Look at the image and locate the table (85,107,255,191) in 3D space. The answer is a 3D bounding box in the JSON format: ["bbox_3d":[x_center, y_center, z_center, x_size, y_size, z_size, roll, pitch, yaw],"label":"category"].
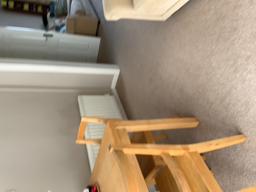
[{"bbox_3d":[0.210,0.770,1.520,0.940,0.760,0.980,-115,33,-43],"label":"table"}]

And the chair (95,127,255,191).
[{"bbox_3d":[0.300,0.540,1.190,0.370,0.850,0.590,-114,33,-42],"label":"chair"}]

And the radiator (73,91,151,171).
[{"bbox_3d":[-0.260,0.350,2.700,1.170,0.710,0.120,-116,34,-45],"label":"radiator"}]
